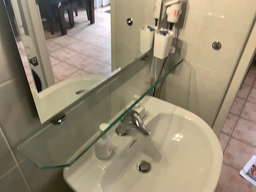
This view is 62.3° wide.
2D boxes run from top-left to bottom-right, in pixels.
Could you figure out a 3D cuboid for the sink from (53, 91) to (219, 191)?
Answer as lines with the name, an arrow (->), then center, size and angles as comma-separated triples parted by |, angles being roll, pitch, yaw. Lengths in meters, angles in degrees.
sink -> 0.070, 0.290, 0.960 | 0.390, 0.230, 0.640 | 28, 45, 28
